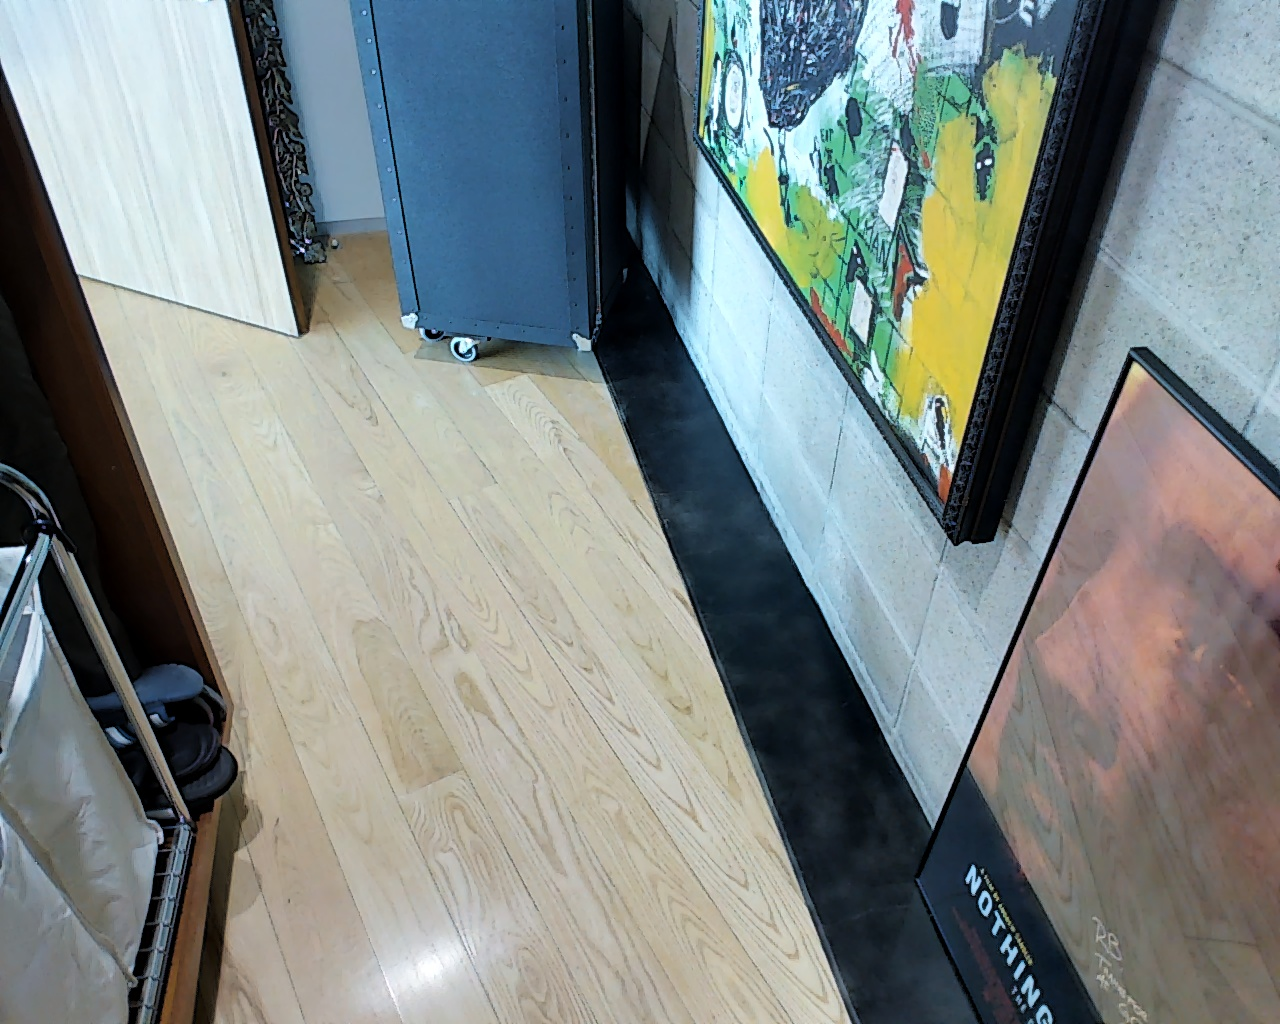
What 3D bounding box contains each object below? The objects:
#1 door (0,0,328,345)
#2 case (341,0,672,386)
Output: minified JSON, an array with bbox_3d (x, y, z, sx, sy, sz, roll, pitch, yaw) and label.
[{"bbox_3d":[-1.320,-1.510,2.380,0.970,2.330,0.090,19,45,21],"label":"door"},{"bbox_3d":[-0.280,-0.950,2.710,0.620,1.060,0.560,8,42,9],"label":"case"}]
